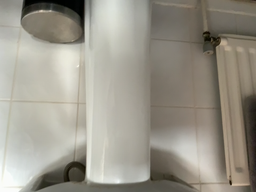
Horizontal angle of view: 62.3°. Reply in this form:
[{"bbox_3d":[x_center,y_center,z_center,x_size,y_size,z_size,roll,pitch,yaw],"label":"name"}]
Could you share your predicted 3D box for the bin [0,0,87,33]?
[{"bbox_3d":[-0.240,-0.340,0.640,0.220,0.210,0.180,2,168,-8],"label":"bin"}]
